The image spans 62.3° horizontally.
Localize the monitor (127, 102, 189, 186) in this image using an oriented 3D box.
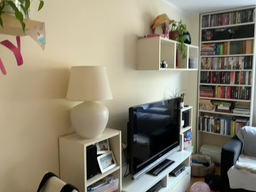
[{"bbox_3d":[0.370,0.430,2.260,0.080,0.630,1.090,5,8,40],"label":"monitor"}]
